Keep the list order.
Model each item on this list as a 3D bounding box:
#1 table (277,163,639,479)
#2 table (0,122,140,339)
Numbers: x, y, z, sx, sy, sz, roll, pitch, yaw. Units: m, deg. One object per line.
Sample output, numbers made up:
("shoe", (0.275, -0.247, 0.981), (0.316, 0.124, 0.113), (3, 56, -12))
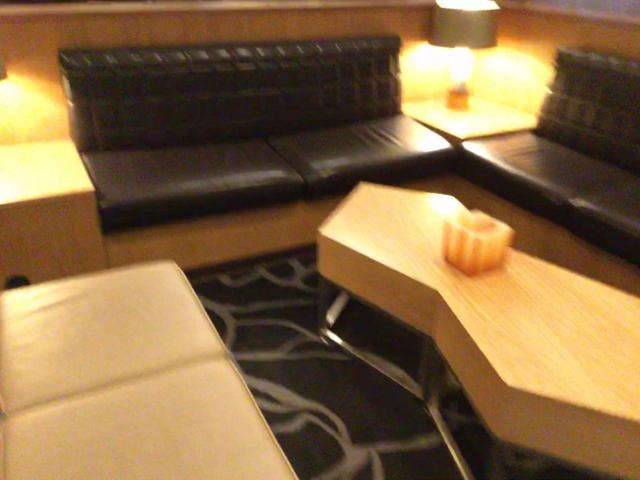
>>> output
("table", (0.540, 0.250, 1.950), (0.830, 0.480, 1.510), (-13, 29, -23))
("table", (-1.240, -0.060, 2.340), (0.790, 0.590, 0.700), (-13, 29, -23))
